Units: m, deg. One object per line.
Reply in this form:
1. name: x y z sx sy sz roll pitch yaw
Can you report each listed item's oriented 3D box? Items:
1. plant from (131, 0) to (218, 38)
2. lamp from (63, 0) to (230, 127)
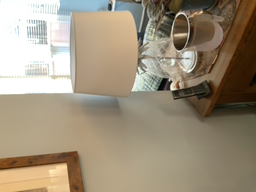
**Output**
1. plant: 0.200 -0.430 0.920 0.220 0.270 0.260 -114 30 -44
2. lamp: 0.020 -0.180 1.000 0.420 0.590 0.420 -115 30 -44
